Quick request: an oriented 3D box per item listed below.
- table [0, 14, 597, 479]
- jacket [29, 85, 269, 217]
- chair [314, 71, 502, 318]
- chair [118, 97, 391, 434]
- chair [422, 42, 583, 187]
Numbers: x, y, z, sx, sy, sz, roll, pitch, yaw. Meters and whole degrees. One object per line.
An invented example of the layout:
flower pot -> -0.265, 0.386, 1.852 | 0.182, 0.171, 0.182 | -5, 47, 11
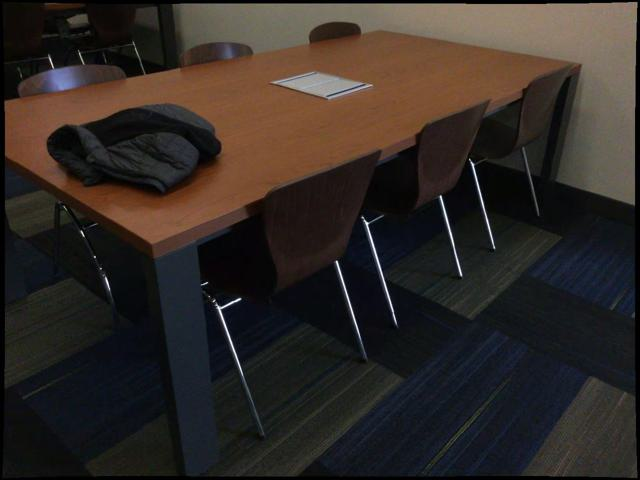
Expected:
table -> 0.000, -0.331, 2.560 | 1.358, 0.832, 2.538 | 24, 38, 34
jacket -> -0.449, -0.271, 1.580 | 0.370, 0.140, 0.500 | 24, 38, 34
chair -> 0.319, -0.201, 2.240 | 0.449, 0.731, 0.520 | 24, 38, 34
chair -> -0.190, 0.040, 1.800 | 0.589, 0.761, 0.490 | 24, 38, 34
chair -> 0.848, -0.612, 2.700 | 0.449, 0.461, 0.570 | 24, 38, 34
